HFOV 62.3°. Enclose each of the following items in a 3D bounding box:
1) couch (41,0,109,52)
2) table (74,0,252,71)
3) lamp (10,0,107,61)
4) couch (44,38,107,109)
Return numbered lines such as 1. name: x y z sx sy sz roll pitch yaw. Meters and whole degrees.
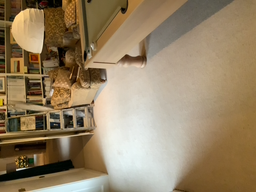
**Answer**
1. couch: -1.110 -1.510 4.090 1.630 0.830 0.860 -6 86 60
2. table: 0.220 -1.170 1.830 2.080 0.790 1.250 -25 69 58
3. lamp: -1.200 -1.100 3.660 0.740 1.450 0.700 -18 75 59
4. couch: -1.050 -0.370 4.030 1.080 0.820 0.820 -48 51 50
